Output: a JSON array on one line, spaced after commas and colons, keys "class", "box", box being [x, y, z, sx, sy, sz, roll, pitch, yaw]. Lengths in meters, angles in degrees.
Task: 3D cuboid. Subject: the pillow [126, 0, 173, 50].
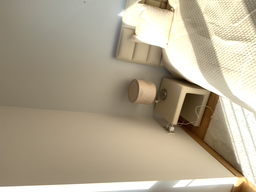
[{"class": "pillow", "box": [0.200, -0.680, 2.010, 0.210, 0.370, 0.410, -135, 39, -61]}]

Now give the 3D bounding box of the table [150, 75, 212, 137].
[{"class": "table", "box": [0.560, 0.100, 2.360, 0.460, 0.340, 0.530, -133, 52, -62]}]
